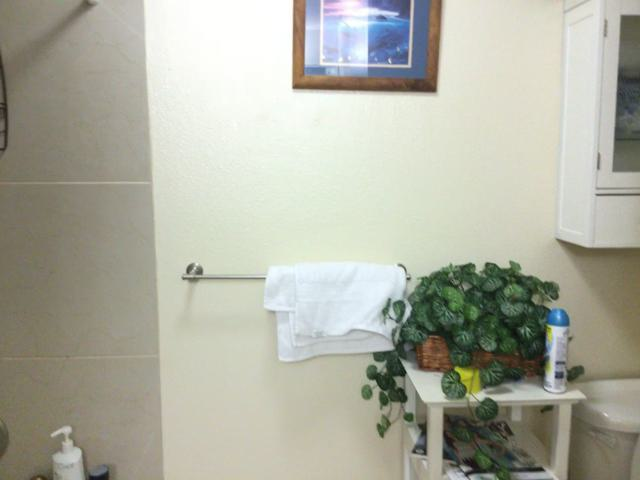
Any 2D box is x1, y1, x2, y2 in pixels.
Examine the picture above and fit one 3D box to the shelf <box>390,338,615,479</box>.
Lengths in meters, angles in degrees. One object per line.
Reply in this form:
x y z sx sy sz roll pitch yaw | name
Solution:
0.440 0.770 1.560 0.440 0.900 0.450 -1 6 -2 | shelf
